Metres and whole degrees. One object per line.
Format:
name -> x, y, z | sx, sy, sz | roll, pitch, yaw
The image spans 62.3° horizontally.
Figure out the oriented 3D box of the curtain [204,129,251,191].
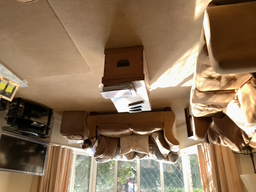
curtain -> 1.550, 1.590, 3.120 | 0.490, 2.190, 0.180 | -3, 155, 6
